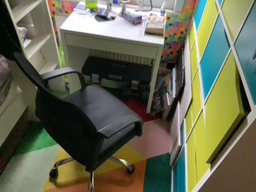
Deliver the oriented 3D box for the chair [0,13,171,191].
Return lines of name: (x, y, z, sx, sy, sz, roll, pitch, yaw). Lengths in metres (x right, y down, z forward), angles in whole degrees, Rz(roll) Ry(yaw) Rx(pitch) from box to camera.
chair: (-0.260, 0.130, 1.290, 0.600, 0.900, 0.650, 33, 51, 23)
